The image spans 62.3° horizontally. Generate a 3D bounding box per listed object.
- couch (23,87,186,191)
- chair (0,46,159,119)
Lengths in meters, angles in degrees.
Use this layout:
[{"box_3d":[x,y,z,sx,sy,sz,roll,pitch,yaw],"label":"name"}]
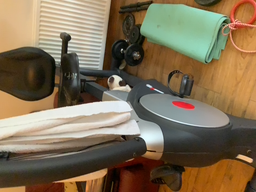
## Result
[{"box_3d":[-0.330,0.630,1.680,1.100,0.740,1.150,28,114,52],"label":"couch"},{"box_3d":[-0.350,-0.110,1.450,0.460,1.020,0.310,29,115,52],"label":"chair"}]
